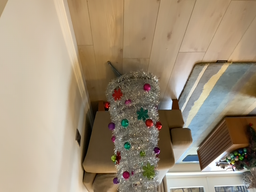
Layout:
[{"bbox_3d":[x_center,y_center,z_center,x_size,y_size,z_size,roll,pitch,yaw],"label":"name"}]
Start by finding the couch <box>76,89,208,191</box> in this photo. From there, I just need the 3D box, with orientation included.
[{"bbox_3d":[0.030,0.710,2.430,0.930,0.710,1.800,0,148,-5],"label":"couch"}]
